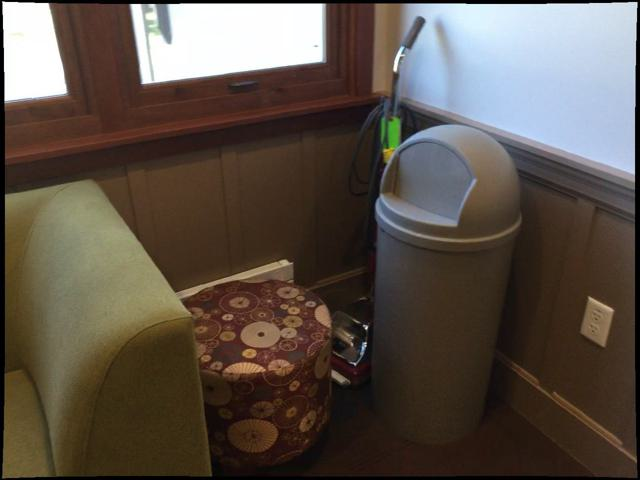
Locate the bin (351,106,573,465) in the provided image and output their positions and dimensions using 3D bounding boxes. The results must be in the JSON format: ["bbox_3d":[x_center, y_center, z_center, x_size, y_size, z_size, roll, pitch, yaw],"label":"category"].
[{"bbox_3d":[0.369,0.130,1.700,0.419,0.912,0.360,-17,33,-27],"label":"bin"}]
